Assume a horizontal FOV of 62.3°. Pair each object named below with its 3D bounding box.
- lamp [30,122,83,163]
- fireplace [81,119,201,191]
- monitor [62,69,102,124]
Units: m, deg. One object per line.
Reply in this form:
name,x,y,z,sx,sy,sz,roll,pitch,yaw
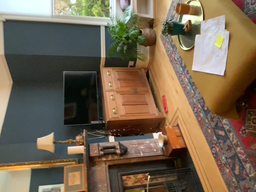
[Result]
lamp,-0.880,0.580,2.680,0.310,0.590,0.350,105,159,-45
fireplace,0.130,1.180,2.400,0.600,1.220,1.770,106,158,-47
monitor,-0.770,-0.010,3.510,0.060,0.620,0.930,121,145,-63
